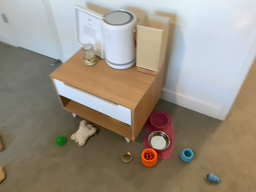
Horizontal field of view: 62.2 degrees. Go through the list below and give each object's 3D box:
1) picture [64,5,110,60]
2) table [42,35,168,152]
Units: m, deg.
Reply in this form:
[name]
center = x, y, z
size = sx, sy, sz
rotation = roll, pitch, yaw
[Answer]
[picture]
center = -0.270, -0.430, 1.440
size = 0.300, 0.270, 0.090
rotation = 31, 54, 27
[table]
center = -0.130, -0.050, 1.560
size = 0.640, 0.430, 0.550
rotation = 21, 51, 19
